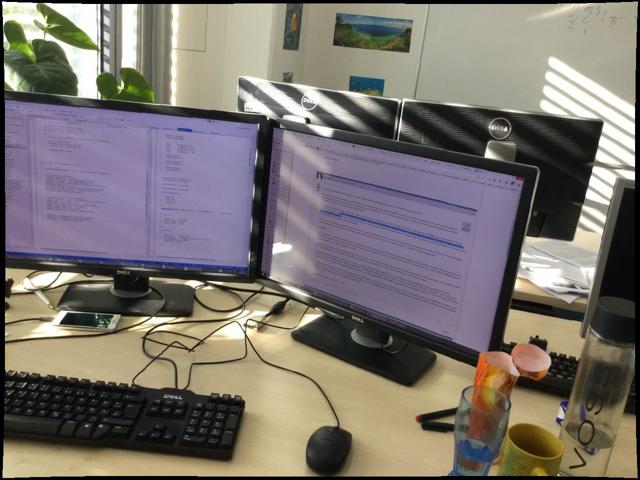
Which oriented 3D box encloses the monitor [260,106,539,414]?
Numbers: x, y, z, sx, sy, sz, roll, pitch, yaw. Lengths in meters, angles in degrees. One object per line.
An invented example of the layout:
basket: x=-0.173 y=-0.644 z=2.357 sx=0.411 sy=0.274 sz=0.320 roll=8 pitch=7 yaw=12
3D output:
monitor: x=0.120 y=0.010 z=1.110 sx=0.450 sy=0.450 sz=0.160 roll=20 pitch=24 yaw=32

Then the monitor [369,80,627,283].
monitor: x=0.470 y=-0.180 z=1.640 sx=0.579 sy=0.450 sz=0.220 roll=10 pitch=21 yaw=11

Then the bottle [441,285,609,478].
bottle: x=0.310 y=0.220 z=0.910 sx=0.190 sy=0.250 sz=0.090 roll=10 pitch=21 yaw=11

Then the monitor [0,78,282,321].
monitor: x=-0.400 y=-0.080 z=1.240 sx=0.599 sy=0.450 sz=0.140 roll=5 pitch=20 yaw=-4
